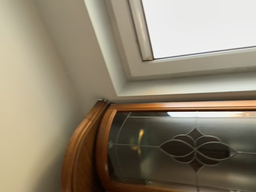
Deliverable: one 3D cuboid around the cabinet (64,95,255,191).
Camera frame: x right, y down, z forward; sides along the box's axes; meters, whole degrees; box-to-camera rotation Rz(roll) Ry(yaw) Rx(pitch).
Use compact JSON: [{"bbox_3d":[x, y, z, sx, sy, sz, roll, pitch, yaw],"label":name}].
[{"bbox_3d":[0.380,0.610,1.150,0.320,1.000,1.240,-58,-42,-50],"label":"cabinet"}]
